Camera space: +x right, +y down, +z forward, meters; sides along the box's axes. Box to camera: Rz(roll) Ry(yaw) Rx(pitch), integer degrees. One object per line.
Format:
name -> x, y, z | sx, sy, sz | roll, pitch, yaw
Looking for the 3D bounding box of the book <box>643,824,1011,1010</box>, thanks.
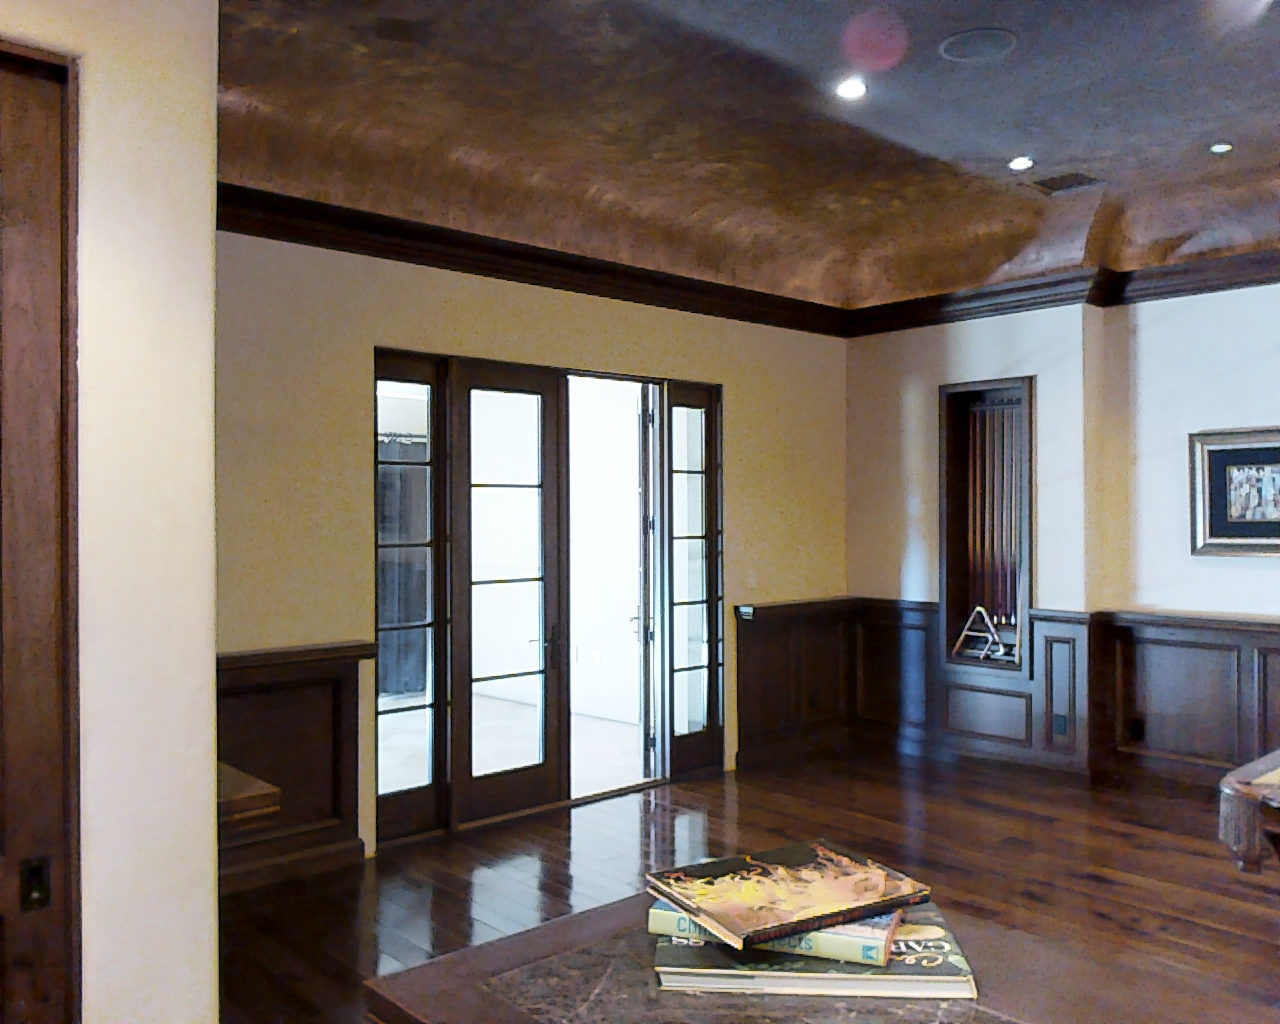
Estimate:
book -> 0.230, 0.540, 1.480 | 0.430, 0.090, 0.430 | -1, 0, 3
